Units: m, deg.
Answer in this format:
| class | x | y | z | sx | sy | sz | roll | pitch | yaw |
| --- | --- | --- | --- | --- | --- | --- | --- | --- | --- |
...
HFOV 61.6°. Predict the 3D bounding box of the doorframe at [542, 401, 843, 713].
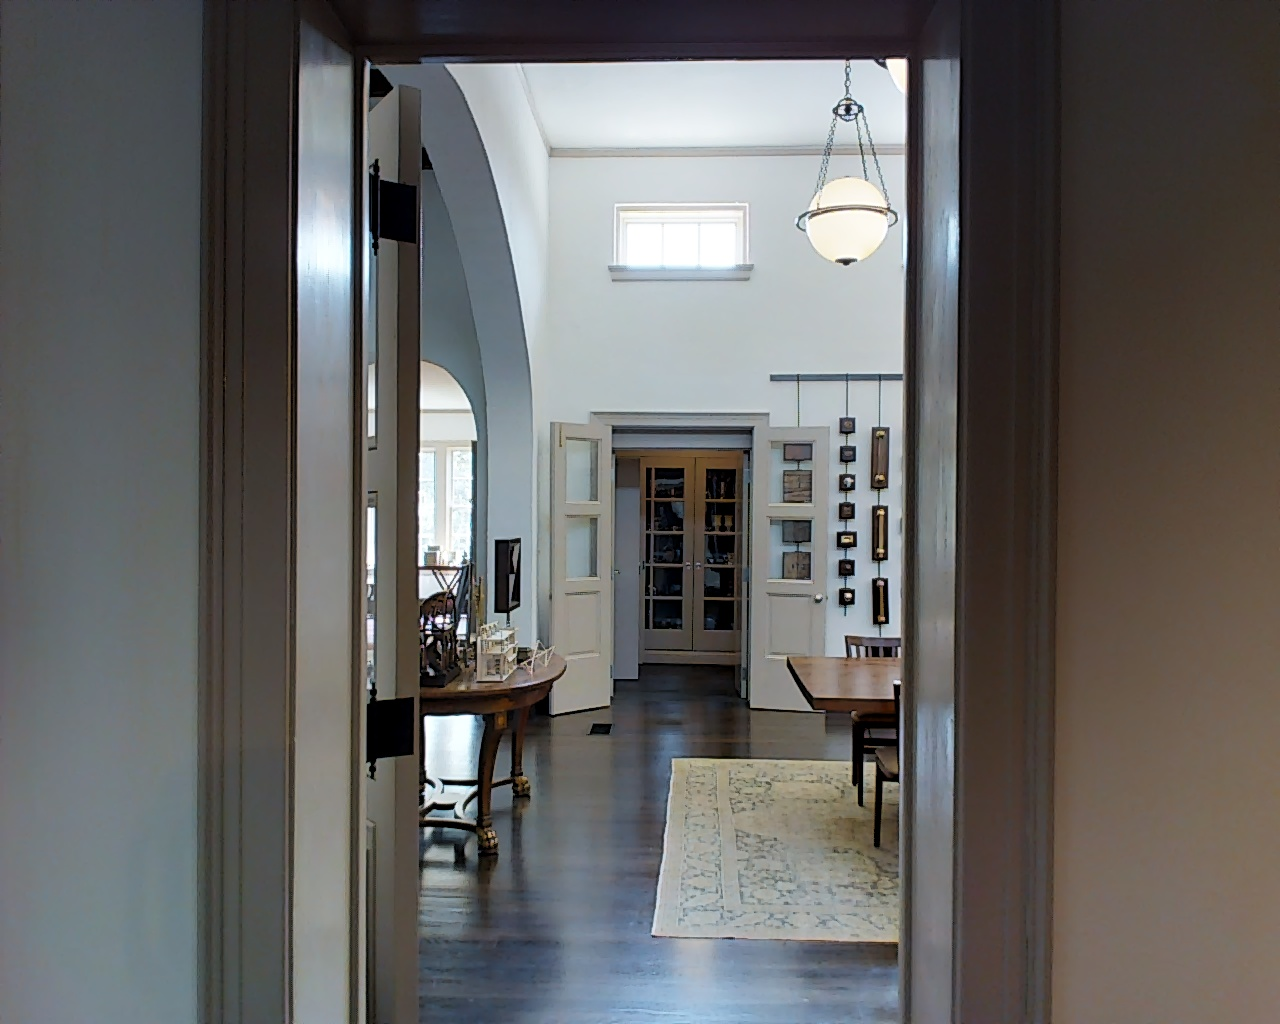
| class | x | y | z | sx | sy | sz | roll | pitch | yaw |
| --- | --- | --- | --- | --- | --- | --- | --- | --- | --- |
| doorframe | 0.420 | 0.340 | 8.730 | 2.290 | 2.370 | 0.950 | 1 | 0 | 2 |
